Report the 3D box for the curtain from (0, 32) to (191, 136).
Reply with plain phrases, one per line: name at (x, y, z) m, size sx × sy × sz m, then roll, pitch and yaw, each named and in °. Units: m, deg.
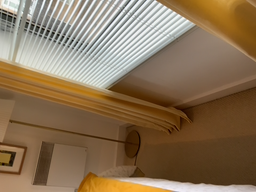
curtain at (-0.620, -0.100, 1.310) m, size 0.450 × 2.360 × 0.220 m, roll -33°, pitch 48°, yaw 50°
